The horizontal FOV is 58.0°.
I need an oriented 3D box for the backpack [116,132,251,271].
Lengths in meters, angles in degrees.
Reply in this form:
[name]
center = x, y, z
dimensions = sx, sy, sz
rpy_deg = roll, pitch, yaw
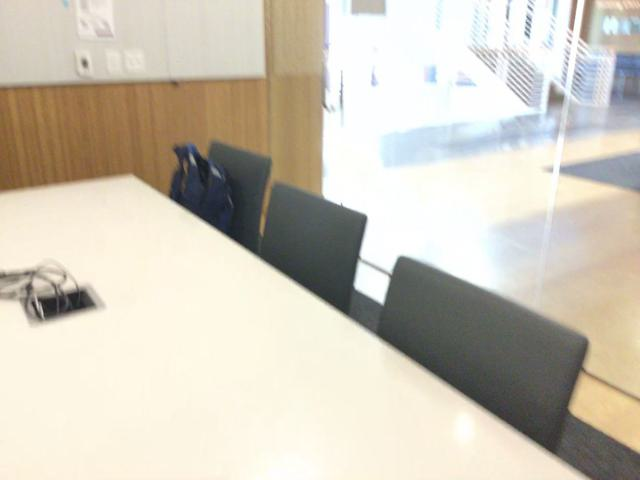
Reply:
[backpack]
center = -0.560, -0.180, 2.400
dimensions = 0.420, 0.450, 0.340
rpy_deg = -13, 25, -34

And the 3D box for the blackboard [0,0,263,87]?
[blackboard]
center = -1.870, -1.070, 2.760
dimensions = 3.610, 0.660, 0.170
rpy_deg = -13, 25, -34
